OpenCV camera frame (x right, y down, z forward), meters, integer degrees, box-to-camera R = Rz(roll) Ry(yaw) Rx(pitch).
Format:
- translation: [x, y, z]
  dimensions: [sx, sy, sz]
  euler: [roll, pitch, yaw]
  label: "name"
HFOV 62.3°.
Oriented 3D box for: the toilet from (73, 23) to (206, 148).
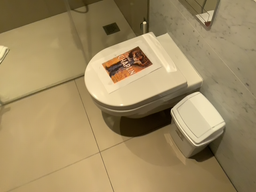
- translation: [0.050, -0.050, 1.200]
  dimensions: [0.530, 0.400, 0.400]
  euler: [-22, 60, -9]
  label: "toilet"
